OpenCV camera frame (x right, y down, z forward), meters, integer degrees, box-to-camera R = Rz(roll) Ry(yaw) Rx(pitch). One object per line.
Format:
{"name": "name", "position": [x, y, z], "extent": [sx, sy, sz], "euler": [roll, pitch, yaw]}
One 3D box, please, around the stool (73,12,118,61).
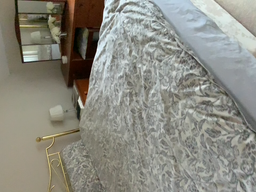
{"name": "stool", "position": [-0.480, -0.830, 2.990], "extent": [0.340, 0.460, 0.540], "euler": [63, 148, 31]}
